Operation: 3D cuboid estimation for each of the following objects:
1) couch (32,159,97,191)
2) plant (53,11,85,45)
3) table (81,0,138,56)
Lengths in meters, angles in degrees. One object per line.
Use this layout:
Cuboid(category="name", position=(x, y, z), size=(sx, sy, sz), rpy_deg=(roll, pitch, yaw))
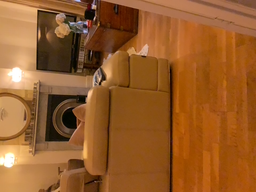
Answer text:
Cuboid(category="couch", position=(-1.280, 1.800, 4.180), size=(0.630, 1.100, 0.840), rpy_deg=(-123, 42, -57))
Cuboid(category="plant", position=(-0.920, -1.030, 3.280), size=(0.400, 0.430, 0.330), rpy_deg=(174, 100, -69))
Cuboid(category="table", position=(-0.330, -1.010, 3.090), size=(1.120, 0.510, 0.550), rpy_deg=(175, 98, -69))
